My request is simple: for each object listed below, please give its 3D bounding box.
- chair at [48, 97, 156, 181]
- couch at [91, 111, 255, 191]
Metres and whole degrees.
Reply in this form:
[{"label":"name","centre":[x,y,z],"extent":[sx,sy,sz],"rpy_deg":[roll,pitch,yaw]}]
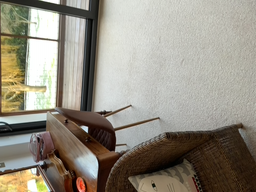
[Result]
[{"label":"chair","centre":[-0.210,0.300,1.860],"extent":[0.420,0.830,0.490],"rpy_deg":[12,102,51]},{"label":"couch","centre":[0.340,0.570,1.230],"extent":[0.660,0.740,0.680],"rpy_deg":[-43,60,45]}]
